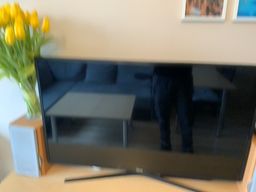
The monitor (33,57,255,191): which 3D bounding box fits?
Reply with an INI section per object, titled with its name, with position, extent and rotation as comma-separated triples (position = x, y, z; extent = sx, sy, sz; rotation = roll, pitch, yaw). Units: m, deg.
[monitor]
position = 0.060, 0.140, 1.000
extent = 0.970, 0.590, 0.060
rotation = 4, 18, 5
